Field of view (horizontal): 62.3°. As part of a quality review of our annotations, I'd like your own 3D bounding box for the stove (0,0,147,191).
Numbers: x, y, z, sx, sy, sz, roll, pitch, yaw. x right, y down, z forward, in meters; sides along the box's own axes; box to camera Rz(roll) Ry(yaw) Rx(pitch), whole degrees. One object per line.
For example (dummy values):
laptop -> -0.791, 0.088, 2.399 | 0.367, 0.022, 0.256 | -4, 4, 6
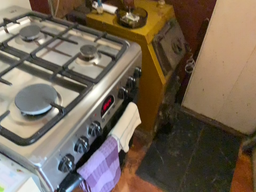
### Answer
stove -> -0.330, -0.090, 0.720 | 0.620, 0.190, 0.510 | 21, 49, 17
